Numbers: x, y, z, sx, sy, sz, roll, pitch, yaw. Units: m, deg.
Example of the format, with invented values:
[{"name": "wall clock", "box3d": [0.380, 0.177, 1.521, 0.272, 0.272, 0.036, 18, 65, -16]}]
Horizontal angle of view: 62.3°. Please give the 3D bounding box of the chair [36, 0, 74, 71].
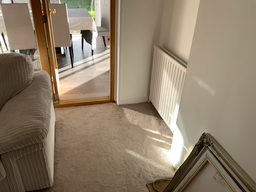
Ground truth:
[{"name": "chair", "box3d": [-1.210, -1.020, 3.600, 0.460, 1.070, 0.460, -5, 31, -14]}]
